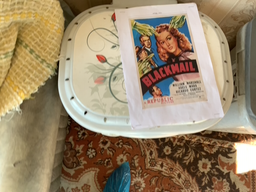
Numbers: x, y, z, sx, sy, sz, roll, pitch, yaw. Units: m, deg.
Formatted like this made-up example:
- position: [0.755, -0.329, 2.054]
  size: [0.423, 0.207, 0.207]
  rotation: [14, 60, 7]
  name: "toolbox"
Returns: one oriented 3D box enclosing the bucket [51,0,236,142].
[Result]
- position: [0.040, -0.030, 0.770]
  size: [0.400, 0.560, 0.340]
  rotation: [7, 78, -1]
  name: "bucket"
